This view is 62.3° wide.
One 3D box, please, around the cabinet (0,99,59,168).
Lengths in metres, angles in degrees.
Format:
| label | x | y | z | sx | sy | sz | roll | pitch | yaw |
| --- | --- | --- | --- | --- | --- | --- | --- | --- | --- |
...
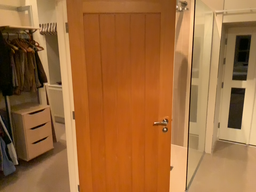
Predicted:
| label | x | y | z | sx | sy | sz | roll | pitch | yaw |
| --- | --- | --- | --- | --- | --- | --- | --- | --- | --- |
| cabinet | -1.480 | 0.520 | 3.180 | 0.540 | 0.780 | 0.570 | 7 | 16 | 28 |

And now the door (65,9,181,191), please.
| label | x | y | z | sx | sy | sz | roll | pitch | yaw |
| --- | --- | --- | --- | --- | --- | --- | --- | --- | --- |
| door | -0.020 | 0.250 | 1.890 | 0.900 | 1.910 | 0.050 | -2 | 14 | -4 |
